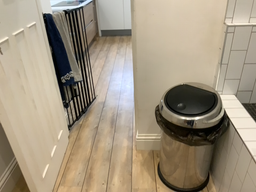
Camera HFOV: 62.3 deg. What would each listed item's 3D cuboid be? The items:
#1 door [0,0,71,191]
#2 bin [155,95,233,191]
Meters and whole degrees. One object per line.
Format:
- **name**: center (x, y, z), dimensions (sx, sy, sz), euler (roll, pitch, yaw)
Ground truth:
- **door**: center (-0.630, -0.340, 1.220), dimensions (0.060, 2.150, 0.810), euler (-1, 30, 1)
- **bin**: center (0.390, 0.350, 1.450), dimensions (0.380, 0.600, 0.380), euler (1, 30, 5)
